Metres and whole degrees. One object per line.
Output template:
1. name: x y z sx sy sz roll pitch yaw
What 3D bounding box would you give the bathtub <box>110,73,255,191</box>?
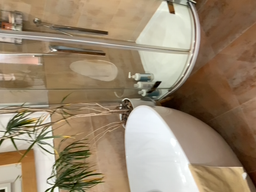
1. bathtub: 0.470 0.820 1.530 0.810 0.580 1.770 -44 55 52
